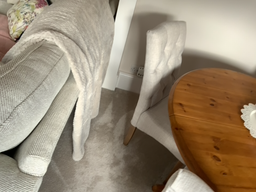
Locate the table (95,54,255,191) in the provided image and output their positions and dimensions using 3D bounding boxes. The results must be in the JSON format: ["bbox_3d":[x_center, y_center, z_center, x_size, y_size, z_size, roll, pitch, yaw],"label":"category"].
[{"bbox_3d":[0.620,0.450,1.340,1.110,0.720,1.090,42,45,24],"label":"table"}]
